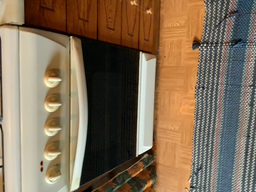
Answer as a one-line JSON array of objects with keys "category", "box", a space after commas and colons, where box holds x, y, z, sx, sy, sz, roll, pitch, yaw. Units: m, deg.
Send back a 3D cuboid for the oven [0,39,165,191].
[{"category": "oven", "box": [-0.240, 0.040, 1.120, 0.610, 0.670, 0.530, 6, 97, 34]}]
